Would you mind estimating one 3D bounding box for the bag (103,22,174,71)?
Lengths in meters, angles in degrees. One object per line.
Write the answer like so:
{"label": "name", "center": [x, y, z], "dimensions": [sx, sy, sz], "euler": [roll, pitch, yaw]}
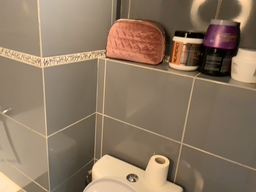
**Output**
{"label": "bag", "center": [0.040, -0.210, 0.860], "dimensions": [0.230, 0.150, 0.150], "euler": [18, 24, 30]}
